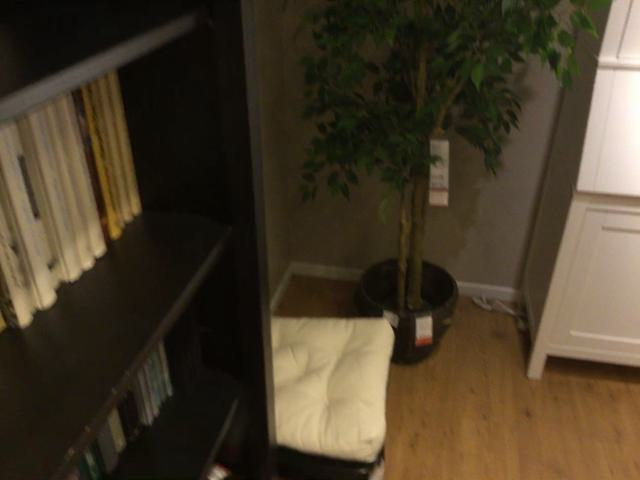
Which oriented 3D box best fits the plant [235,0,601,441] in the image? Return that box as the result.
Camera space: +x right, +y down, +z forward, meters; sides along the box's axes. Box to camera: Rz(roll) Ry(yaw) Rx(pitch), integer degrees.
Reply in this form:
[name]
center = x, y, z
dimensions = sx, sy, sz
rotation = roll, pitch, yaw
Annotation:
[plant]
center = 0.300, -0.320, 1.680
dimensions = 0.740, 1.620, 0.730
rotation = 3, 31, 15
